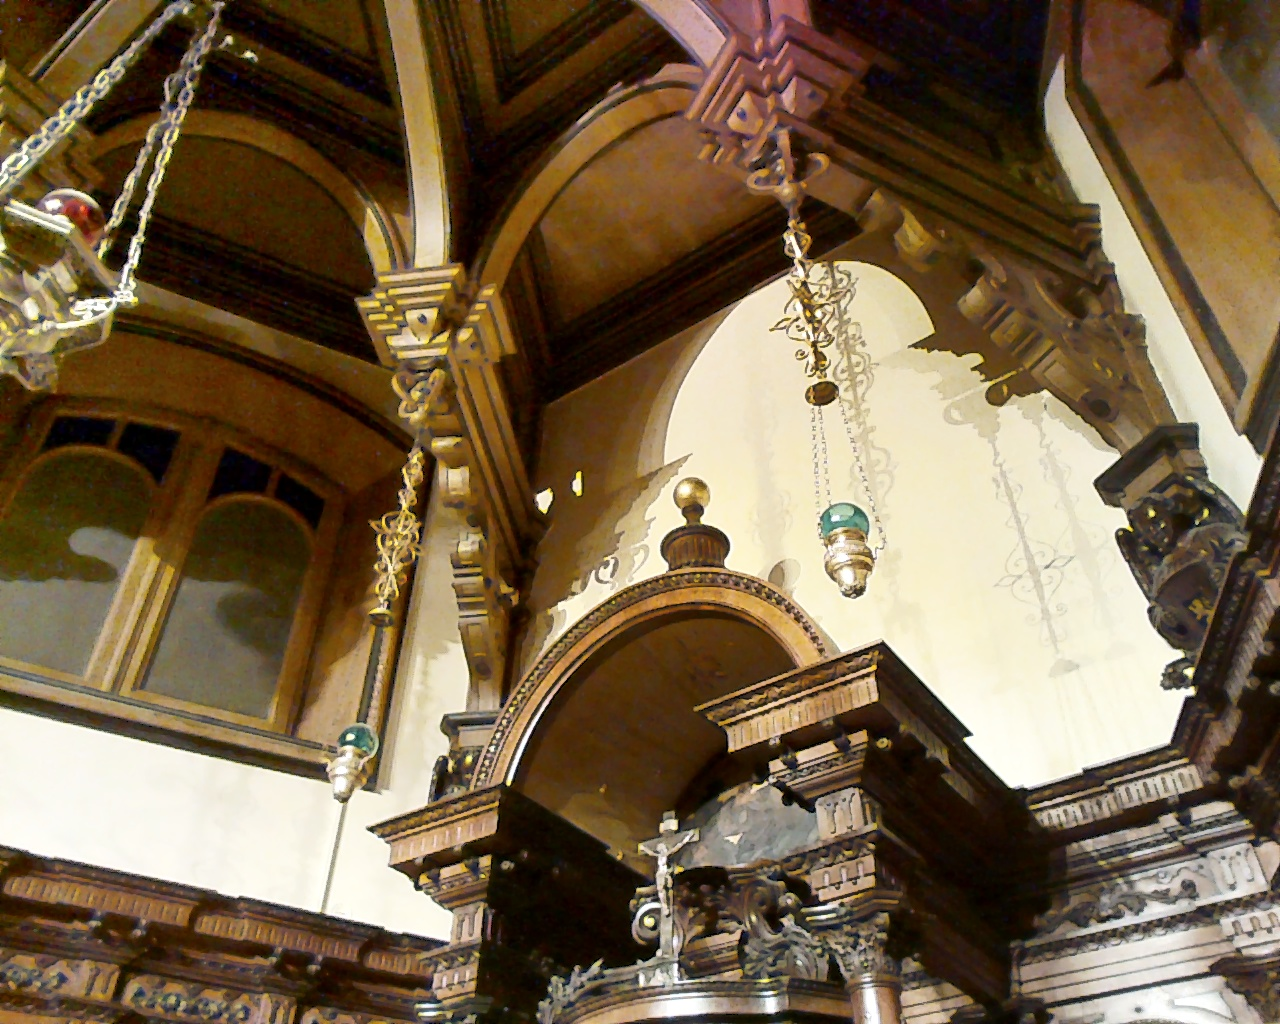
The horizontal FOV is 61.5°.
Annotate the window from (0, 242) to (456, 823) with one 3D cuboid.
[{"bbox_3d":[-1.579,0.030,3.680,1.760,1.670,0.200,23,-46,-23],"label":"window"}]
